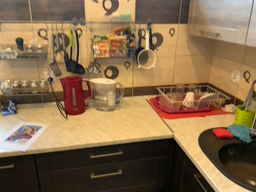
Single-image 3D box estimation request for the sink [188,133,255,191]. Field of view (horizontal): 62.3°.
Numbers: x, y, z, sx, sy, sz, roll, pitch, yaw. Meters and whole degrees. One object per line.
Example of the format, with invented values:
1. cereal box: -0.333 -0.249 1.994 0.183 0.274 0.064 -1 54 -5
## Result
1. sink: 0.650 0.420 1.100 0.480 0.220 0.440 -3 22 -13
